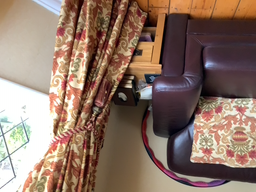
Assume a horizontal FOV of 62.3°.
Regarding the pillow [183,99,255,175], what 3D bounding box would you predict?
[{"bbox_3d":[0.680,0.280,1.560,0.510,0.470,0.220,4,136,10],"label":"pillow"}]
